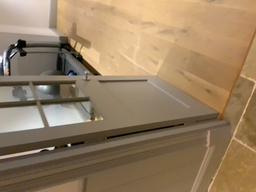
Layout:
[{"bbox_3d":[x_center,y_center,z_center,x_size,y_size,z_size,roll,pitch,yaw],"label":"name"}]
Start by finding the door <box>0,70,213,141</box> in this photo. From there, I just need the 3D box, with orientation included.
[{"bbox_3d":[-0.380,-0.020,1.470,0.770,2.070,0.050,41,127,48],"label":"door"}]
